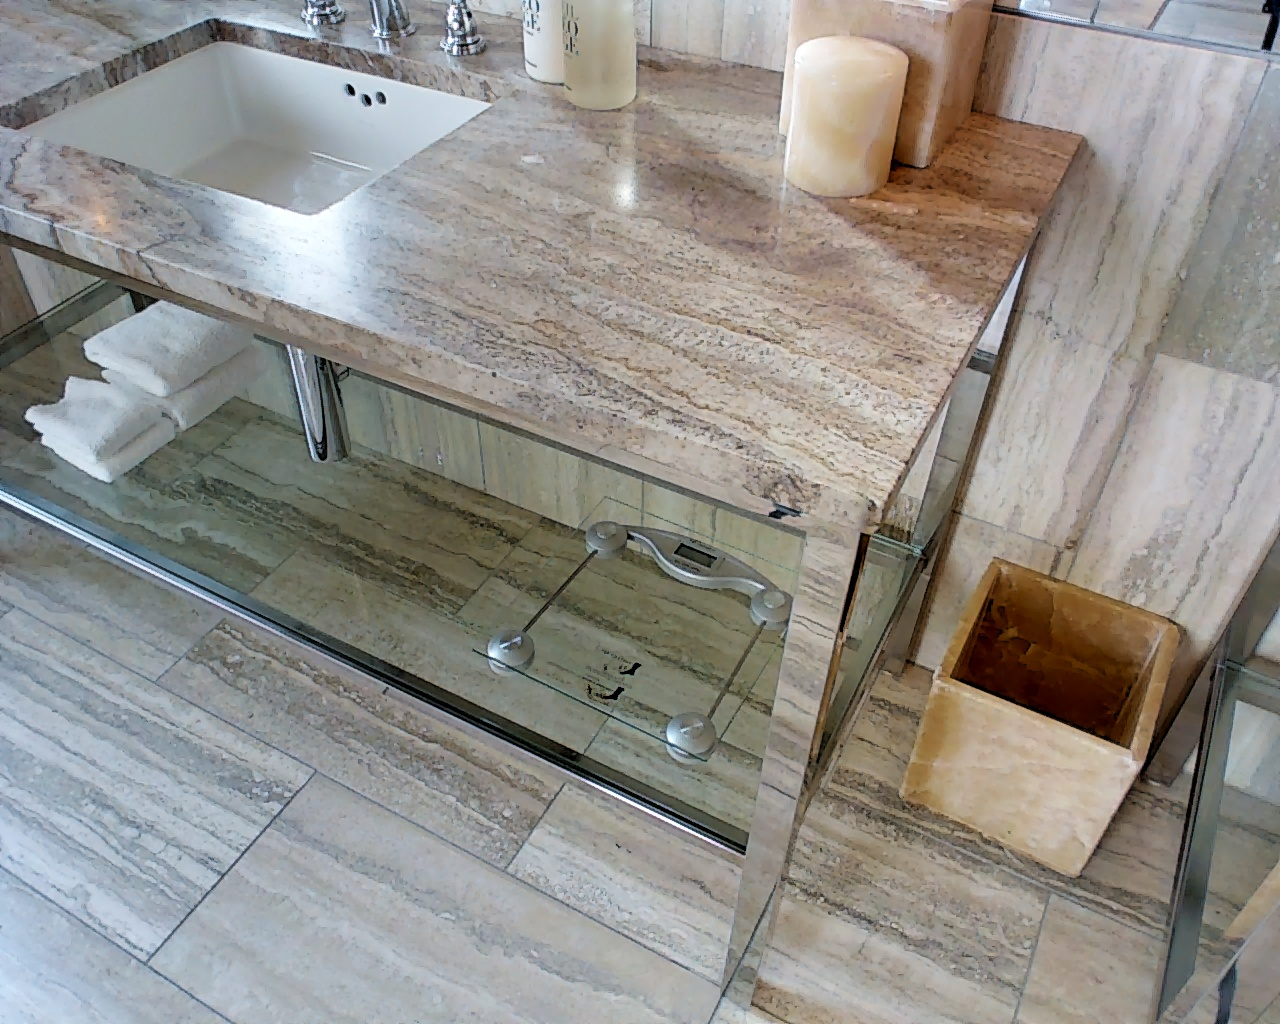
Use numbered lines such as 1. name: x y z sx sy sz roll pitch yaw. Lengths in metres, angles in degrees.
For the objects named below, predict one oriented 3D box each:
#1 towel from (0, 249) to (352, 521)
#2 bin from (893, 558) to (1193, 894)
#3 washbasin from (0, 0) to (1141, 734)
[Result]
1. towel: -0.690 -0.210 1.640 0.250 0.150 0.430 20 46 20
2. bin: 0.510 0.270 1.380 0.260 0.260 0.240 20 46 19
3. washbasin: -0.380 -0.410 1.130 1.550 0.400 0.610 20 46 20
